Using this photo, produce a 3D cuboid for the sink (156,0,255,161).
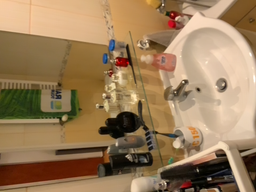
[{"bbox_3d":[0.350,-0.060,0.890,0.420,0.150,0.550,131,135,-52],"label":"sink"}]
